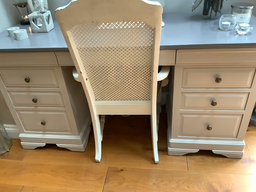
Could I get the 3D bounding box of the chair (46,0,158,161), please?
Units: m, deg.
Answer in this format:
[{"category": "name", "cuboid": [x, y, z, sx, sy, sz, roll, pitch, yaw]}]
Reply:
[{"category": "chair", "cuboid": [-0.060, -0.110, 1.310, 0.460, 0.940, 0.480, 0, 34, 7]}]
